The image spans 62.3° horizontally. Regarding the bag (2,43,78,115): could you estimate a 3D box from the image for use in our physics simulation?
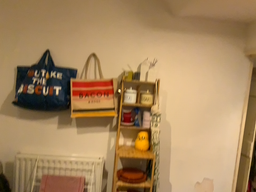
[{"bbox_3d":[-0.740,-0.140,1.820,0.540,0.540,0.210,5,6,-5],"label":"bag"}]

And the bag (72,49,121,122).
[{"bbox_3d":[-0.280,-0.090,1.880,0.370,0.580,0.200,4,6,-7],"label":"bag"}]
